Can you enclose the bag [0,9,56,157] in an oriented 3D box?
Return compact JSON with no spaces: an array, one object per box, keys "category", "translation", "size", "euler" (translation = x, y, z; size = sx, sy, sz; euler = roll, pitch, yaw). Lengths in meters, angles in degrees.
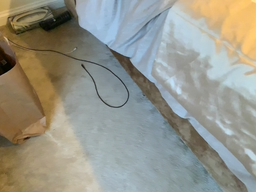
[{"category":"bag","translation":[-0.640,-0.070,1.030],"size":[0.300,0.420,0.550],"euler":[-24,60,-18]}]
